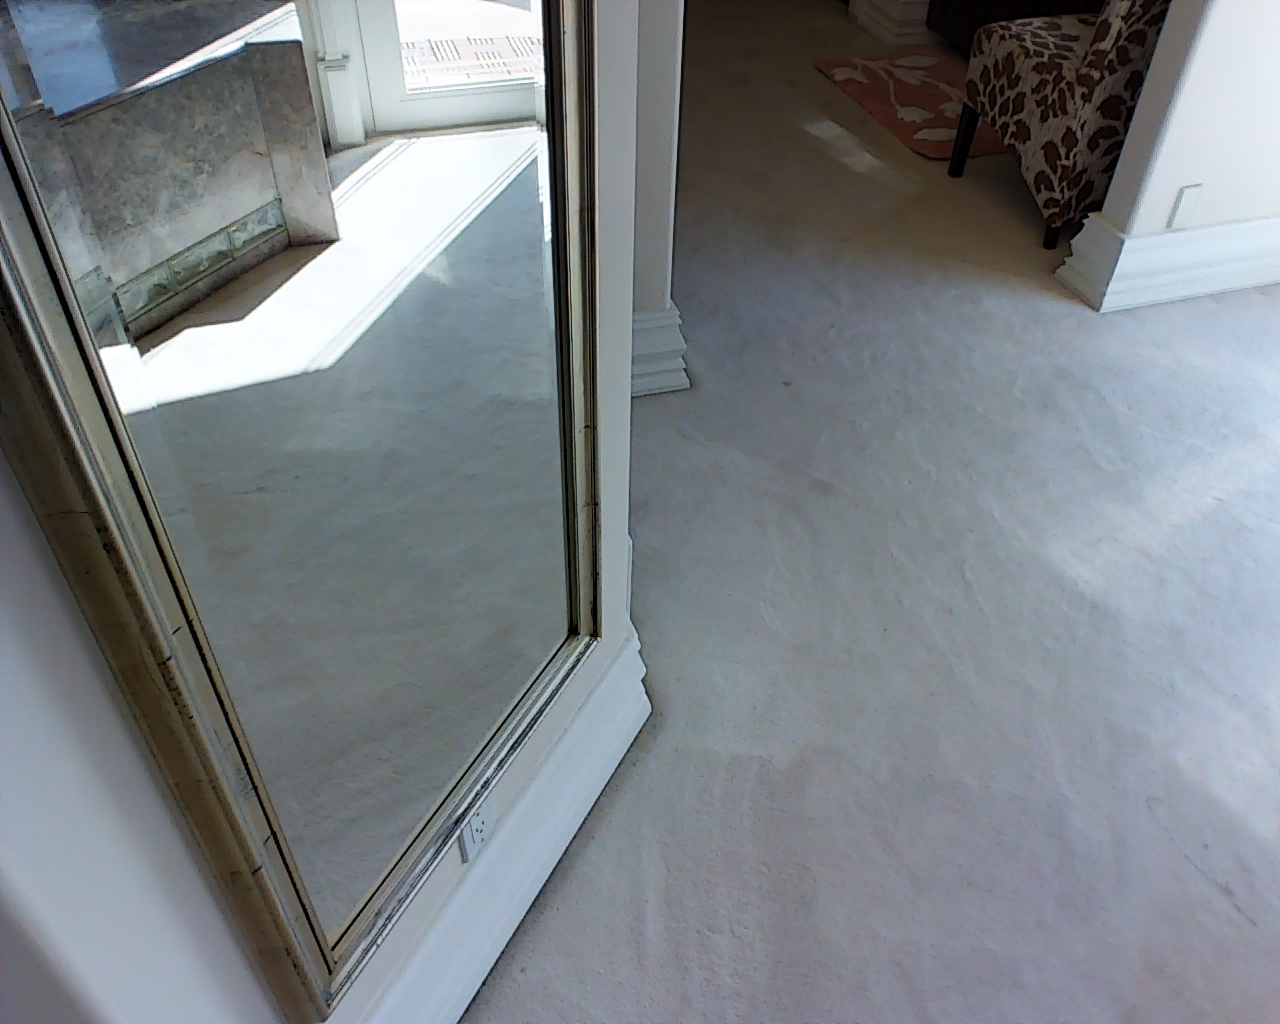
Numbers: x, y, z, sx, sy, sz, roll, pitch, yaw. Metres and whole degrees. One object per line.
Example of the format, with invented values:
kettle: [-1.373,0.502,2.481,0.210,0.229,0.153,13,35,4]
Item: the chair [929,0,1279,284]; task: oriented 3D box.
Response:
chair: [1.290,-1.280,2.820,0.540,1.040,0.700,-14,44,-16]
